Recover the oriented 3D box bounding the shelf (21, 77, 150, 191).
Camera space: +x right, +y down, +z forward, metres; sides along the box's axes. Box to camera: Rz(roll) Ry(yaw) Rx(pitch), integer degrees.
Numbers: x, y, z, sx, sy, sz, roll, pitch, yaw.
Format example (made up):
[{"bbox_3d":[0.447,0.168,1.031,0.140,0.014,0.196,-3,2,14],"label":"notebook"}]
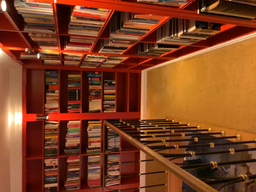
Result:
[{"bbox_3d":[-0.700,2.630,3.710,0.450,2.060,5.810,-178,88,-73],"label":"shelf"}]
